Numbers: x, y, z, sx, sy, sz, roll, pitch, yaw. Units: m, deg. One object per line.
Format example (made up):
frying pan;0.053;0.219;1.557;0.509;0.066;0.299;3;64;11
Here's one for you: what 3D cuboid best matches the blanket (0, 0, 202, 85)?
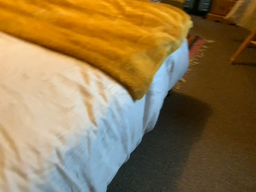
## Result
blanket;-0.470;-0.510;1.110;1.560;0.040;0.650;23;44;20
